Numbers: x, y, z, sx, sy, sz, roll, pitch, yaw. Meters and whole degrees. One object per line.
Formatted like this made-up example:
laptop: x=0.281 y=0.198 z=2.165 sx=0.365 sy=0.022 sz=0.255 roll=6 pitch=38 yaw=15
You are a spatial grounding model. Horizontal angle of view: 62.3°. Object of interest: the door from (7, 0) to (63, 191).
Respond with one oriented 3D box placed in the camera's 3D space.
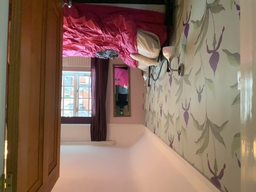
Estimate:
door: x=-0.420 y=-0.480 z=1.090 sx=0.040 sy=1.950 sz=0.750 roll=0 pitch=178 yaw=-7
